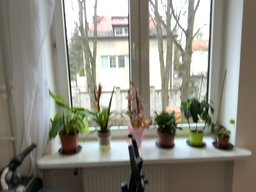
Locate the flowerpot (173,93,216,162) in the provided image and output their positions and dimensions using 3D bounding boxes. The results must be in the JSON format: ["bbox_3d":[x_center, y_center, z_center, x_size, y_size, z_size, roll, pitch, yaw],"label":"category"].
[{"bbox_3d":[0.560,0.260,1.850,0.240,0.510,0.320,-2,11,-2],"label":"flowerpot"}]

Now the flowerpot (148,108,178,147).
[{"bbox_3d":[0.290,0.260,1.810,0.220,0.260,0.250,-1,11,2],"label":"flowerpot"}]

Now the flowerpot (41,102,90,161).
[{"bbox_3d":[-0.500,0.280,1.780,0.300,0.400,0.310,-2,11,-2],"label":"flowerpot"}]

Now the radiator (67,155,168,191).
[{"bbox_3d":[-0.080,0.840,1.860,0.820,0.590,0.190,-1,11,2],"label":"radiator"}]

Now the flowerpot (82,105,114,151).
[{"bbox_3d":[-0.240,0.260,1.770,0.220,0.330,0.210,-1,11,2],"label":"flowerpot"}]

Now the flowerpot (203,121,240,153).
[{"bbox_3d":[0.780,0.340,1.800,0.210,0.200,0.220,-1,11,2],"label":"flowerpot"}]
